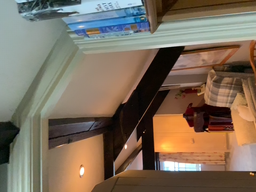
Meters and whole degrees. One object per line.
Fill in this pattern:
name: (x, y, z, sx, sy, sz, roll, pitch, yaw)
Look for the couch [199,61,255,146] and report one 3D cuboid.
couch: (1.600, 0.140, 3.010, 0.900, 0.920, 0.850, 74, -163, -56)
